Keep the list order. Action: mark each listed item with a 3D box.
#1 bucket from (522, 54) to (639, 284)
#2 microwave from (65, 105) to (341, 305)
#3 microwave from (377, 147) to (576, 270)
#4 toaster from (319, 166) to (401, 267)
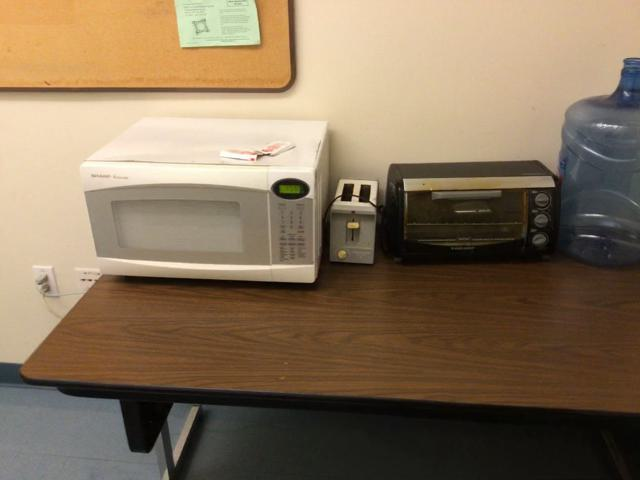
[{"bbox_3d":[0.690,-0.170,1.380,0.260,0.470,0.270,2,27,1],"label":"bucket"},{"bbox_3d":[-0.240,-0.110,1.470,0.570,0.330,0.440,2,27,1],"label":"microwave"},{"bbox_3d":[0.380,-0.090,1.520,0.430,0.210,0.270,2,27,1],"label":"microwave"},{"bbox_3d":[0.100,-0.070,1.540,0.190,0.160,0.270,2,27,1],"label":"toaster"}]
